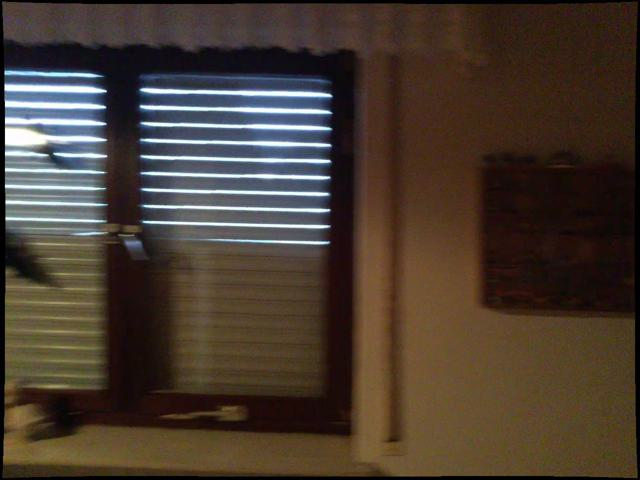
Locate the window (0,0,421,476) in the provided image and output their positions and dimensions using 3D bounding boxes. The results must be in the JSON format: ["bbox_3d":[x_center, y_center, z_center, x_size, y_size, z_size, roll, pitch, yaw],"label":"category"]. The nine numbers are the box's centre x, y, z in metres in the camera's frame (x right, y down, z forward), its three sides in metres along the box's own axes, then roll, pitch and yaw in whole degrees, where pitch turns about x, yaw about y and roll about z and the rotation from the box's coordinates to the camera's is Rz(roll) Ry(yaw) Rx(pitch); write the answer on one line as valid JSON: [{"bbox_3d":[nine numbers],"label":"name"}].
[{"bbox_3d":[-0.789,-0.010,1.800,2.118,1.321,0.410,0,3,0],"label":"window"}]

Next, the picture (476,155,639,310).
[{"bbox_3d":[0.729,-0.020,1.630,0.559,0.430,0.050,0,3,0],"label":"picture"}]
